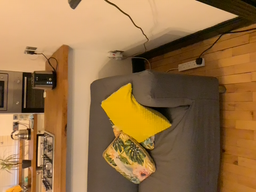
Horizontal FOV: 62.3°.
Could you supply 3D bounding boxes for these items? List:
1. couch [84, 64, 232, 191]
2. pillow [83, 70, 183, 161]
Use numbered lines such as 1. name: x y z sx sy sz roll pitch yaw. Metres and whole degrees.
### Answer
1. couch: 0.150 0.770 1.600 0.890 0.680 1.850 0 89 59
2. pillow: 0.020 0.150 1.400 0.450 0.210 0.450 -29 101 43
